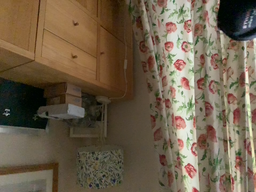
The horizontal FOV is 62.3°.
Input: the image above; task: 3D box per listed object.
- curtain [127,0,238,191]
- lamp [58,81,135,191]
[{"bbox_3d":[0.280,0.380,1.090,0.460,2.610,0.250,-10,165,32],"label":"curtain"},{"bbox_3d":[-0.190,0.280,1.380,0.330,0.640,0.350,-9,165,29],"label":"lamp"}]
